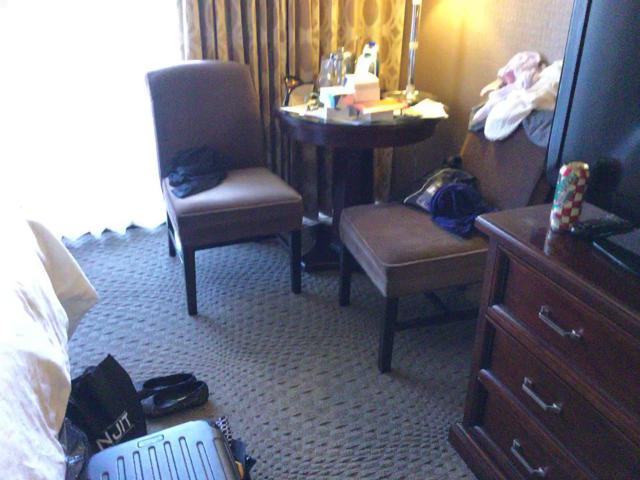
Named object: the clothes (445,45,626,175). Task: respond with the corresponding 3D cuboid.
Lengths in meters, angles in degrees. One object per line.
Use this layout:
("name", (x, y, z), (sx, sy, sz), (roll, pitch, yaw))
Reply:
("clothes", (0.730, -0.490, 2.070), (0.240, 0.340, 0.570), (-8, 26, -21))

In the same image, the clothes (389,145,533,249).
("clothes", (0.510, -0.180, 2.190), (0.270, 0.220, 0.490), (-8, 26, -21))

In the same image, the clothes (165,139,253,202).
("clothes", (-0.470, -0.300, 2.420), (0.290, 0.150, 0.330), (-8, 26, -21))
